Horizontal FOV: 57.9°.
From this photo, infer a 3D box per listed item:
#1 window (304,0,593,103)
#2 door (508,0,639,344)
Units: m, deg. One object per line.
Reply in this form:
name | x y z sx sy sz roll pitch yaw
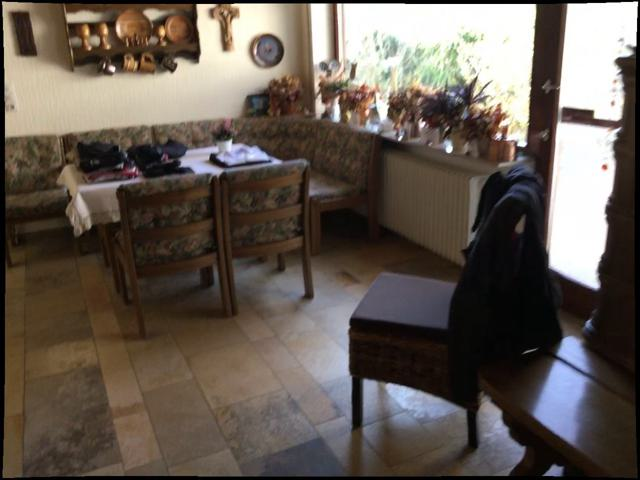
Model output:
window | 0.599 -1.522 3.940 0.270 0.871 2.760 -12 22 -23
door | 1.469 -0.531 2.800 0.290 1.922 1.070 -12 22 -23
